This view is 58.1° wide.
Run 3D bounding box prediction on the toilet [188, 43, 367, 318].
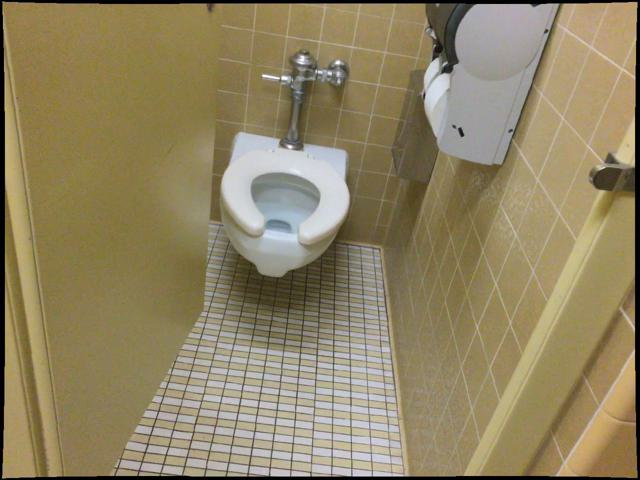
[{"bbox_3d":[-0.130,-0.211,1.800,0.419,0.561,0.661,7,34,-4],"label":"toilet"}]
